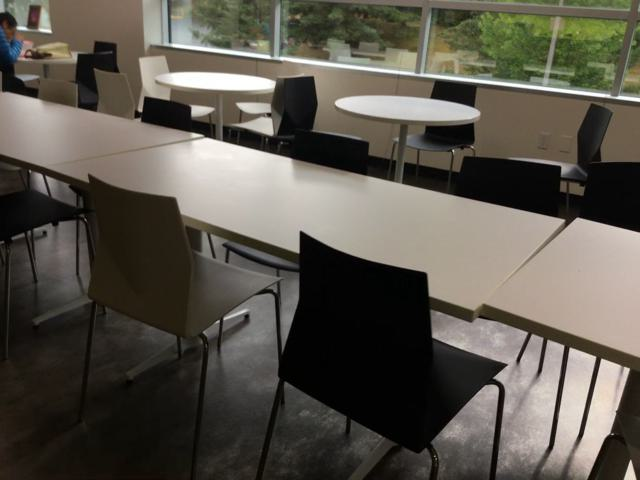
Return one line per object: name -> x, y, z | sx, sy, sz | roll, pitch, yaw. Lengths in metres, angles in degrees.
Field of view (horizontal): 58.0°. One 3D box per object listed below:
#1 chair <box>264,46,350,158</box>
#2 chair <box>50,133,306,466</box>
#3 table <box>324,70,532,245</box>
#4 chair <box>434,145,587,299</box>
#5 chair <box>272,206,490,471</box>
chair -> -0.110, -1.200, 4.960 | 0.510, 0.820, 0.510 | 18, 29, 35
chair -> -0.410, 0.140, 1.860 | 0.500, 0.810, 0.540 | 19, 29, 35
table -> 0.680, -0.600, 3.740 | 0.920, 0.800, 0.930 | 19, 29, 35
chair -> 0.670, -0.080, 2.080 | 0.420, 0.420, 0.220 | 18, 29, 35
chair -> 0.120, 0.200, 1.320 | 0.410, 0.430, 0.220 | 19, 29, 35
